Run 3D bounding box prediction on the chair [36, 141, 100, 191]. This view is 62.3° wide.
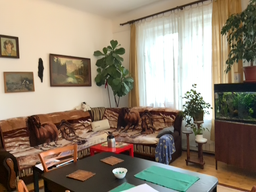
[{"bbox_3d":[-0.580,0.970,2.110,0.450,0.900,0.400,1,5,40],"label":"chair"}]
